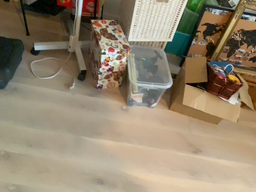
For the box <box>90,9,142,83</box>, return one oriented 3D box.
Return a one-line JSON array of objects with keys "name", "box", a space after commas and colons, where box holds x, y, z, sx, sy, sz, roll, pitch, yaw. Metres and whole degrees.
[{"name": "box", "box": [-0.110, -0.350, 1.500, 0.260, 0.330, 0.380, -2, 52, -16]}]
